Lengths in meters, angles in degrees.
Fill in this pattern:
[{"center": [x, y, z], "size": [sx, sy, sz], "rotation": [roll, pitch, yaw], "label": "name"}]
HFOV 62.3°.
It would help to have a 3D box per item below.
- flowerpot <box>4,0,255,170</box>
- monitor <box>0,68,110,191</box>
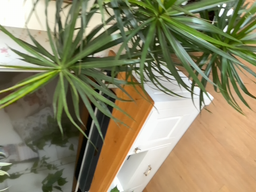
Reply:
[{"center": [0.180, -0.240, 0.900], "size": [0.620, 1.150, 0.520], "rotation": [55, 134, 37], "label": "flowerpot"}, {"center": [-0.530, 0.330, 1.360], "size": [0.060, 0.650, 1.060], "rotation": [44, 127, 44], "label": "monitor"}]
